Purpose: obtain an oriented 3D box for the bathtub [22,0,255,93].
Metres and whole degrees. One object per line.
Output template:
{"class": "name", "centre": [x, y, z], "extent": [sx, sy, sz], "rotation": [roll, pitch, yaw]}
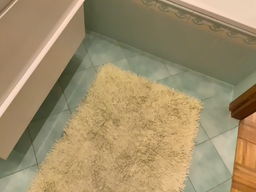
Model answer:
{"class": "bathtub", "centre": [0.150, -0.740, 1.510], "extent": [1.670, 0.550, 0.690], "rotation": [22, 62, 2]}
